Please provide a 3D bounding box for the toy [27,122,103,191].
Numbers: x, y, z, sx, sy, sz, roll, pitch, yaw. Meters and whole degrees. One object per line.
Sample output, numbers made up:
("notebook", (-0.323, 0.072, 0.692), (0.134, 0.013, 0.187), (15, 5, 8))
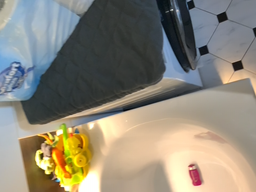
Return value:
("toy", (-0.240, 0.240, 0.820), (0.190, 0.150, 0.230), (-15, 84, 24))
